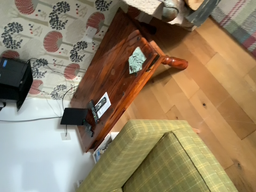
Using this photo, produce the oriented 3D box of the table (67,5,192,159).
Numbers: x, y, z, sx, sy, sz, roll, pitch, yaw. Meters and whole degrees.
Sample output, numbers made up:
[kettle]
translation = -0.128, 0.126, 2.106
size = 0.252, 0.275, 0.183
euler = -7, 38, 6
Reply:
[table]
translation = -0.100, -0.070, 1.930
size = 1.170, 0.350, 0.690
euler = -54, 48, 31
